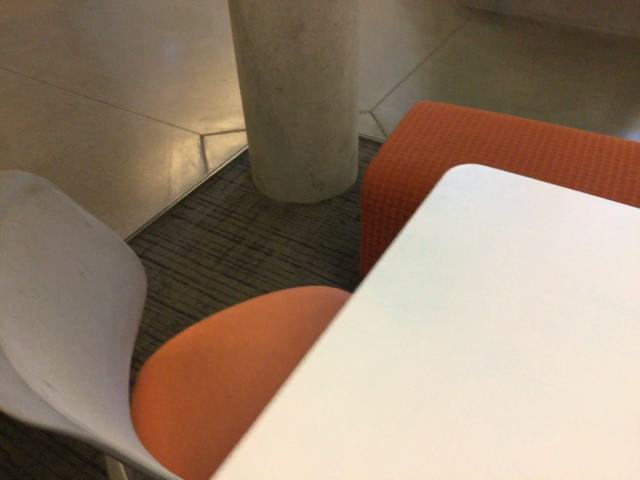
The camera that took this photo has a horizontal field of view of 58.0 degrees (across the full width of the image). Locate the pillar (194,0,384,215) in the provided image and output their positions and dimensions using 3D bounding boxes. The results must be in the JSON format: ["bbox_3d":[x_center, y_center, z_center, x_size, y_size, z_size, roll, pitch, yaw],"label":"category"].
[{"bbox_3d":[-0.060,-0.610,1.860,0.500,1.000,0.400,3,42,9],"label":"pillar"}]
